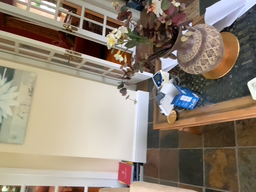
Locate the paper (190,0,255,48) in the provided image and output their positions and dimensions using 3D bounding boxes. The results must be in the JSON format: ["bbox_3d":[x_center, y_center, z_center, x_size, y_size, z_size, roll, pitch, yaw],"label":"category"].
[{"bbox_3d":[0.580,-0.500,1.300,0.420,0.100,0.230,-26,56,56],"label":"paper"}]

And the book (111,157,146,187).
[{"bbox_3d":[0.000,0.920,2.580,0.280,0.290,0.280,-9,70,61],"label":"book"}]
